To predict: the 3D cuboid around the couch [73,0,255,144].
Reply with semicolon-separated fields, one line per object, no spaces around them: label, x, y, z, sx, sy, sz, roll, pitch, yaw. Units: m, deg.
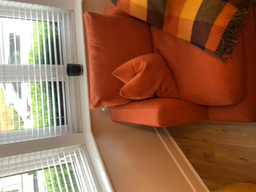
couch;0.210;-0.320;1.540;1.090;0.850;1.030;-5;89;59
